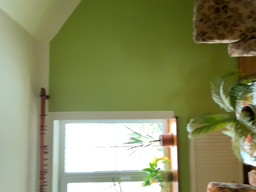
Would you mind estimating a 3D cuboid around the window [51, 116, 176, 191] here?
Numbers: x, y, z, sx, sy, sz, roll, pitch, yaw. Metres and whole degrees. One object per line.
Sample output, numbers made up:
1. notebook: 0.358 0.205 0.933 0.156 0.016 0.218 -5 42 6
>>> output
1. window: -0.170 1.030 2.730 0.170 1.560 1.530 163 107 -86
